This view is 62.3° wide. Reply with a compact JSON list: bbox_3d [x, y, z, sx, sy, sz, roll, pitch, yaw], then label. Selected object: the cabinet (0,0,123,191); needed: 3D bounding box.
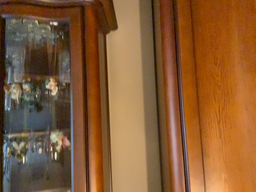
[{"bbox_3d":[-0.590,0.240,1.100,1.080,1.260,0.590,-2,173,2],"label":"cabinet"}]
